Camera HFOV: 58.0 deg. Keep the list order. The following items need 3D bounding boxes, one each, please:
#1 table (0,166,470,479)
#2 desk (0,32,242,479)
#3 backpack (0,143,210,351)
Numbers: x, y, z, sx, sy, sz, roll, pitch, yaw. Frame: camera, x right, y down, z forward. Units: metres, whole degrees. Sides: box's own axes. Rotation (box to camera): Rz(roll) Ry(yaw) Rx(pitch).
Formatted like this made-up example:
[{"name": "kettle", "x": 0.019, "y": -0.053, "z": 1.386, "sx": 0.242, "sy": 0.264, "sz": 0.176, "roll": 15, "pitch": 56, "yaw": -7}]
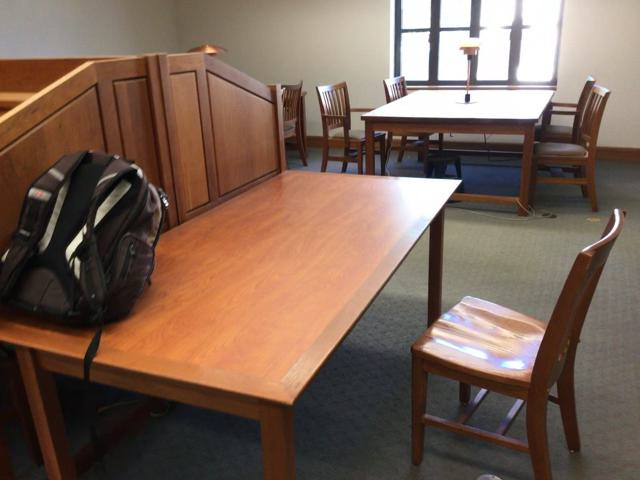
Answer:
[{"name": "table", "x": -0.150, "y": 0.310, "z": 2.220, "sx": 1.060, "sy": 0.770, "sz": 1.870, "roll": 5, "pitch": 21, "yaw": 24}, {"name": "desk", "x": -1.270, "y": 0.040, "z": 2.130, "sx": 1.370, "sy": 1.420, "sz": 1.220, "roll": 5, "pitch": 21, "yaw": 24}, {"name": "backpack", "x": -0.620, "y": -0.020, "z": 1.550, "sx": 0.400, "sy": 0.390, "sz": 0.470, "roll": 5, "pitch": 21, "yaw": 24}]
